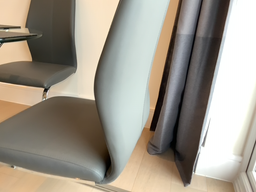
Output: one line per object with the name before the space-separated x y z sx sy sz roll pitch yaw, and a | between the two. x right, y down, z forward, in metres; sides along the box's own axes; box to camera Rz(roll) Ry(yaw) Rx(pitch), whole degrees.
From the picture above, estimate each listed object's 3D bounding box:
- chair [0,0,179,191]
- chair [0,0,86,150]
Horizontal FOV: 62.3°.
chair | -0.170 0.060 0.740 0.540 1.030 0.440 10 21 14
chair | -0.620 -0.260 1.480 0.450 1.030 0.560 8 21 10
